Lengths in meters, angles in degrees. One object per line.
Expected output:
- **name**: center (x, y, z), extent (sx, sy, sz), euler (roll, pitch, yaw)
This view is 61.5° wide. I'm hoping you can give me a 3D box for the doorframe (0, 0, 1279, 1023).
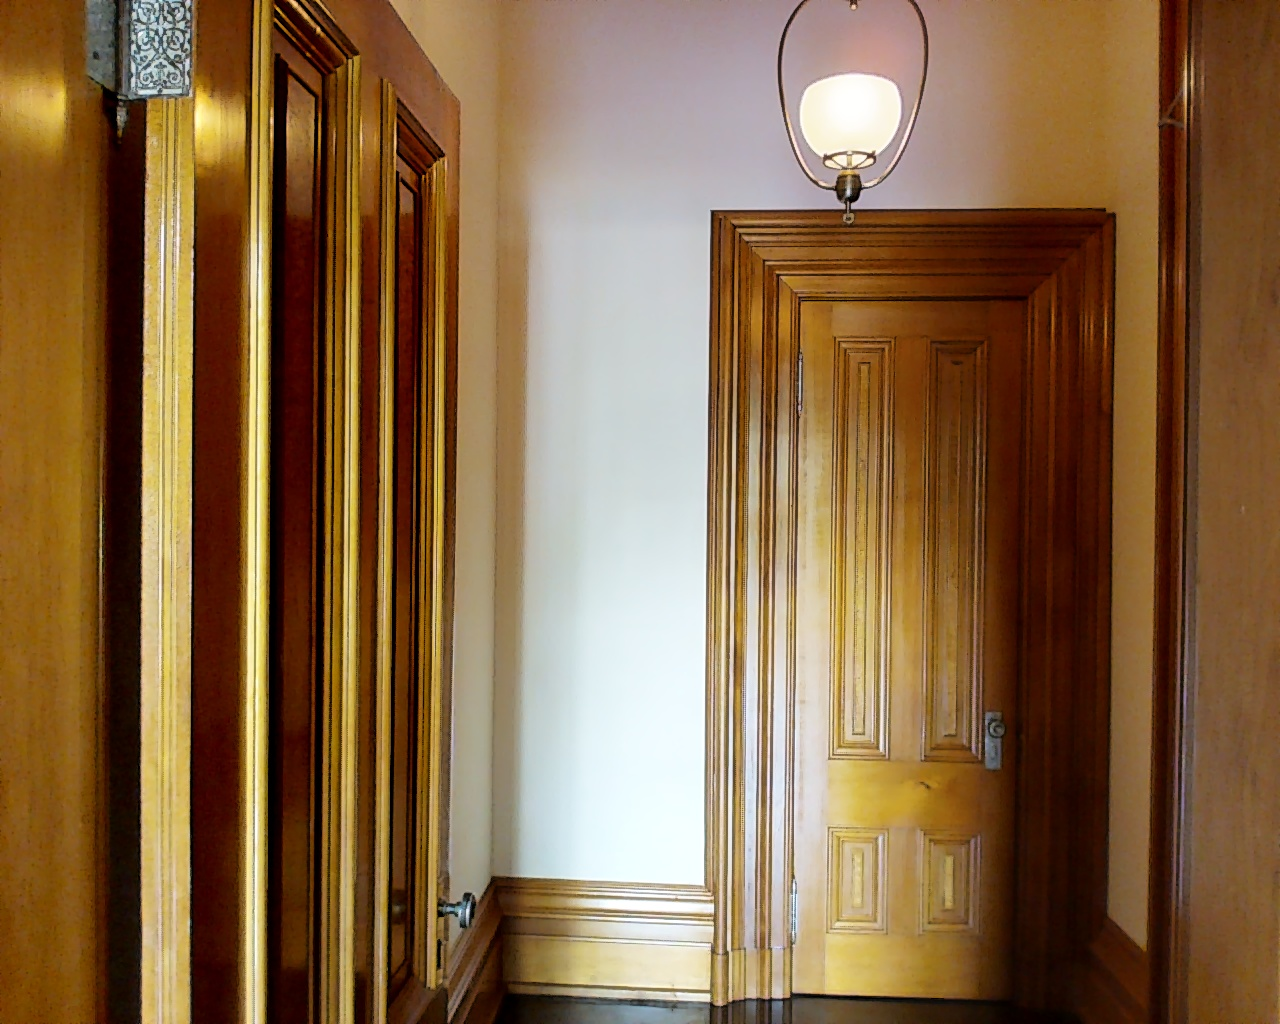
- **doorframe**: center (0.060, 0.250, 0.860), extent (1.340, 2.540, 0.320), euler (1, 0, 3)
